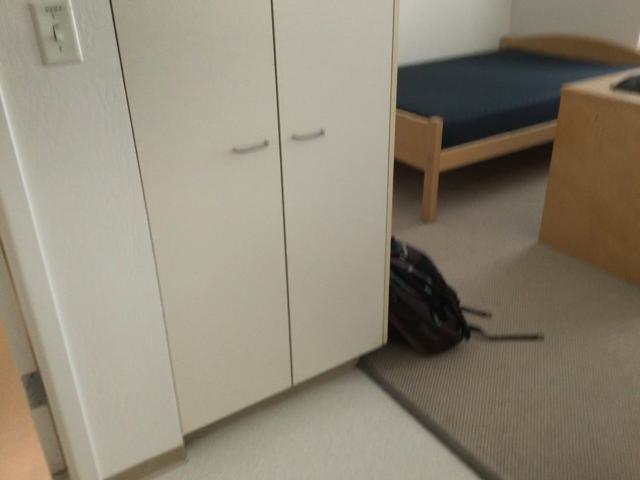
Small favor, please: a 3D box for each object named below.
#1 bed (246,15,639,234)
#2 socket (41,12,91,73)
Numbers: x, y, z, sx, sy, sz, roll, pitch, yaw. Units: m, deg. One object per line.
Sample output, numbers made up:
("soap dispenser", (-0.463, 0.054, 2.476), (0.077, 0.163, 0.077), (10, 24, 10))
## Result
("bed", (0.890, -0.940, 3.840), (2.270, 0.710, 1.420), (-21, 32, -29))
("socket", (-0.500, -0.390, 1.140), (0.070, 0.110, 0.020), (-15, 29, -30))
